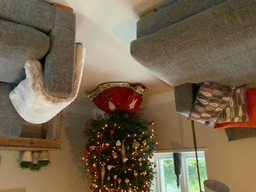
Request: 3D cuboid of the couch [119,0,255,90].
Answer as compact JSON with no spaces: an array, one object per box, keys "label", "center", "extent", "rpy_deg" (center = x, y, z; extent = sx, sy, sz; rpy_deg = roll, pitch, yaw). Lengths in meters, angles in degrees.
[{"label":"couch","center":[0.580,-0.420,1.370],"extent":[1.130,0.420,0.610],"rpy_deg":[-13,160,34]}]
